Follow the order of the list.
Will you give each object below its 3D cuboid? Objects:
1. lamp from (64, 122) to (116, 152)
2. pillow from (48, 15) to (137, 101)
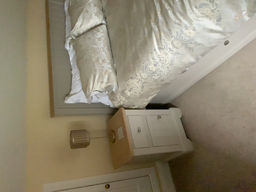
[{"bbox_3d":[-0.360,0.380,1.970,0.260,0.400,0.170,-48,48,52],"label":"lamp"},{"bbox_3d":[-0.320,-0.390,2.040,0.750,0.420,0.250,50,126,0],"label":"pillow"}]
